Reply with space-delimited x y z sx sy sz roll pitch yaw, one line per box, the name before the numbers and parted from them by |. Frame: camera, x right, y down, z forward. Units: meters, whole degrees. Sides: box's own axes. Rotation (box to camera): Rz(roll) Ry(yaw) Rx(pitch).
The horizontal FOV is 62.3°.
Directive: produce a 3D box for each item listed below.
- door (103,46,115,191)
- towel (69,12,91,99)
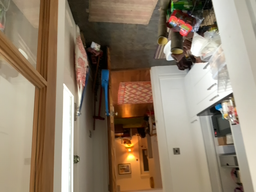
door | -0.250 0.360 2.810 0.080 1.870 0.750 -2 164 -5
towel | -0.480 -0.400 2.160 0.120 0.800 0.340 -4 164 1
